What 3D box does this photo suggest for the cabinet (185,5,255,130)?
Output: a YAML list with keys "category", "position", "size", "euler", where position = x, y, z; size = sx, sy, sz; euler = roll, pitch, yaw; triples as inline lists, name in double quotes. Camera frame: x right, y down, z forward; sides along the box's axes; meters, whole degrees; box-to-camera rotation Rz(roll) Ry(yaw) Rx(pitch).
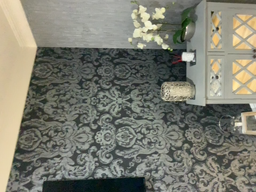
- category: "cabinet"
  position: [0.970, -0.210, 1.750]
  size: [0.460, 0.810, 0.860]
  euler: [-137, 47, -81]
